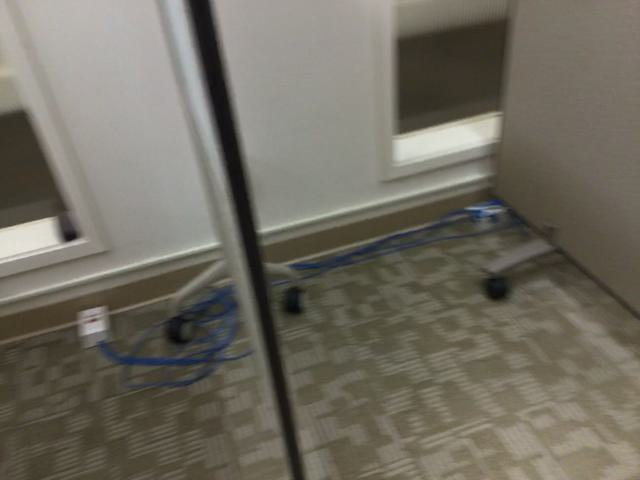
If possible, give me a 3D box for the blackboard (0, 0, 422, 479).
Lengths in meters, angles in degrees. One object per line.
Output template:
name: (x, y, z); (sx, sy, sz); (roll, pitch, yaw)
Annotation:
blackboard: (-0.200, -0.110, 1.060); (0.400, 1.400, 0.880); (-16, 36, -10)
